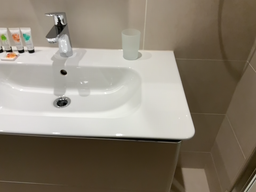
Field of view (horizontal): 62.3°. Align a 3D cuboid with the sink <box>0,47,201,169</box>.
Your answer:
[{"bbox_3d":[-0.240,0.000,0.730,0.840,0.140,0.440,2,38,0],"label":"sink"}]
